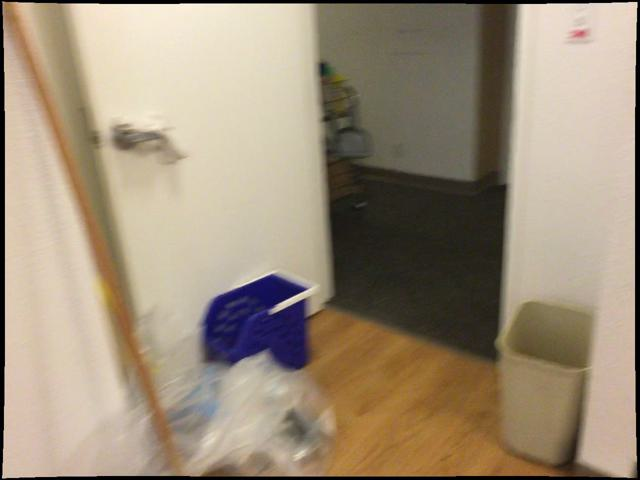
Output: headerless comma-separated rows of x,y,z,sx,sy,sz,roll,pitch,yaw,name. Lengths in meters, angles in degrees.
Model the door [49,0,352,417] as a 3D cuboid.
-0.329,-0.481,2.140,0.180,2.014,1.109,17,30,39,door
